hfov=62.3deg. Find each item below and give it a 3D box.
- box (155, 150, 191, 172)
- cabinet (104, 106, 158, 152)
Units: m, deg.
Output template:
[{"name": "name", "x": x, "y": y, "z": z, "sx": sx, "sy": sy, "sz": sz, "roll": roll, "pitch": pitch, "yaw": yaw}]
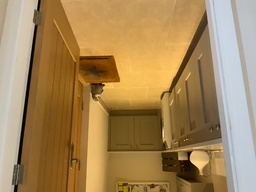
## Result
[{"name": "box", "x": 0.830, "y": 1.210, "z": 3.990, "sx": 0.510, "sy": 0.370, "sz": 0.500, "roll": 1, "pitch": 165, "yaw": -6}, {"name": "cabinet", "x": 0.060, "y": 0.680, "z": 4.360, "sx": 1.050, "sy": 0.890, "sz": 0.210, "roll": -1, "pitch": 165, "yaw": 3}]
